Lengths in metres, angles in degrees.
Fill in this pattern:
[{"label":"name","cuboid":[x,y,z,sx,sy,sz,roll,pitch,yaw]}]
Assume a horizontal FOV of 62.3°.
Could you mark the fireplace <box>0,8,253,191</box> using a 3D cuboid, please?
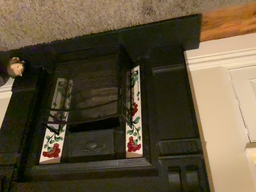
[{"label":"fireplace","cuboid":[-0.240,0.230,1.490,1.650,1.310,0.600,-8,148,12]}]
